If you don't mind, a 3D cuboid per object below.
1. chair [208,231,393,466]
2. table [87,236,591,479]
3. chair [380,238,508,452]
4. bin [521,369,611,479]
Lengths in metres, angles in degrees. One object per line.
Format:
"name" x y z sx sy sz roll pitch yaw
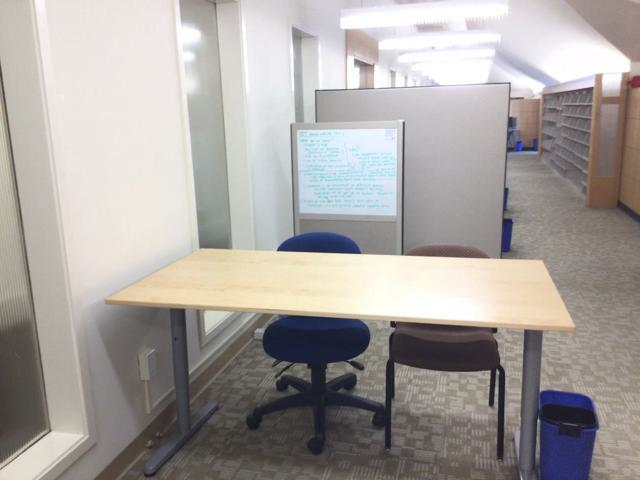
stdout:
"chair" -0.030 0.430 2.600 0.640 0.800 0.680 0 15 12
"table" 0.100 0.490 2.360 1.620 0.810 0.910 0 15 12
"chair" 0.530 0.410 2.490 0.460 0.720 0.570 0 15 12
"bin" 0.920 0.730 2.200 0.240 0.340 0.340 0 15 12
